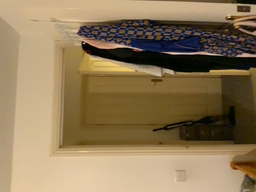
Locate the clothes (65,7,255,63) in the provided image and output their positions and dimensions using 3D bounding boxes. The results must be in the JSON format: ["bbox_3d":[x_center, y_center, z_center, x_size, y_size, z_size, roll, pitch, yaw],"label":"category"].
[{"bbox_3d":[0.370,-0.280,1.090,0.440,1.260,0.130,-179,90,-87],"label":"clothes"}]
